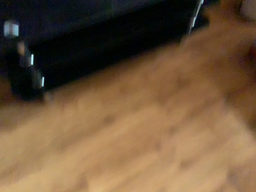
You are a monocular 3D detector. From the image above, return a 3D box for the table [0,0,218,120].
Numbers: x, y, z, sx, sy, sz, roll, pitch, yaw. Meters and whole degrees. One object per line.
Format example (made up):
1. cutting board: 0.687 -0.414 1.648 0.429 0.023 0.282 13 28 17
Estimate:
1. table: -0.130 -0.480 1.220 1.170 0.560 0.580 -27 65 -19
